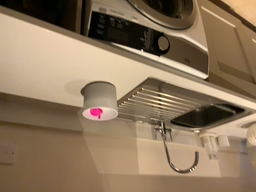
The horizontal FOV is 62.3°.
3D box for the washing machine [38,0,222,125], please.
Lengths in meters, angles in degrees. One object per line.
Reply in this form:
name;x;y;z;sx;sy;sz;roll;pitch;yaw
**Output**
washing machine;-0.050;-0.400;1.240;0.640;0.890;0.670;14;149;-31
